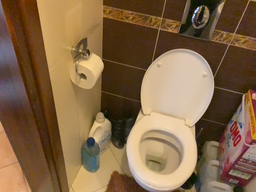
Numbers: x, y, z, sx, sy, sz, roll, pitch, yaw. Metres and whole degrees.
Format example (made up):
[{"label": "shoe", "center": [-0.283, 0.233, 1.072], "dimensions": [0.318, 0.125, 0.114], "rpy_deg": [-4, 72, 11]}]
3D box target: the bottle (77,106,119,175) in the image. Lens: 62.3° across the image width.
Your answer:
[{"label": "bottle", "center": [-0.190, 0.290, 1.390], "dimensions": [0.150, 0.290, 0.300], "rpy_deg": [16, 43, 8]}]
